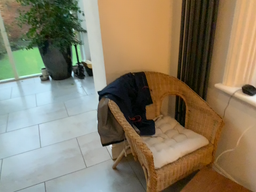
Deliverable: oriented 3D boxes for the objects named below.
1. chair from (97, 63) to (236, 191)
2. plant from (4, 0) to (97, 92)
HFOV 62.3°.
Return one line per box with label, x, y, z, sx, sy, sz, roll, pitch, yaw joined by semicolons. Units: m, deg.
chair;0.200;0.290;1.440;0.550;0.790;0.620;-16;30;-24
plant;-1.080;-1.160;3.010;0.990;1.970;0.660;-9;28;-13
